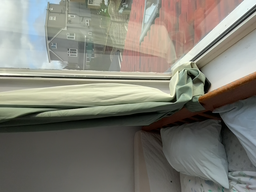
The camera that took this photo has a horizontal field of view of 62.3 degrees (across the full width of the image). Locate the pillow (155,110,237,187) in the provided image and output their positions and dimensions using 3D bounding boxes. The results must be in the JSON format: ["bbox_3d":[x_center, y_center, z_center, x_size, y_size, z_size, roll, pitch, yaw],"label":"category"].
[{"bbox_3d":[0.450,0.390,1.620,0.730,0.190,0.440,136,132,-70],"label":"pillow"}]
